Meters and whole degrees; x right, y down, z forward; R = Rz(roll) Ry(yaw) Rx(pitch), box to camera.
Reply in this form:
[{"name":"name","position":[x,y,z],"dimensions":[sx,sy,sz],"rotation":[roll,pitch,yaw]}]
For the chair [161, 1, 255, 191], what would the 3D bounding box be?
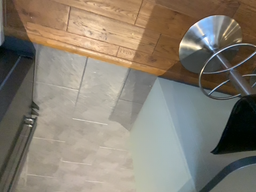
[{"name":"chair","position":[0.560,0.020,0.980],"dimensions":[0.460,1.080,0.430],"rotation":[13,128,-16]}]
